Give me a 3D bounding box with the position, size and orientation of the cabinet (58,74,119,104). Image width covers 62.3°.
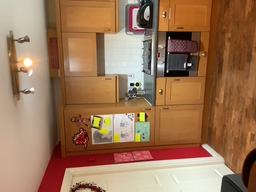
[{"bbox_3d":[-0.570,-0.120,3.160,0.330,0.830,0.390,-130,39,-76],"label":"cabinet"}]
